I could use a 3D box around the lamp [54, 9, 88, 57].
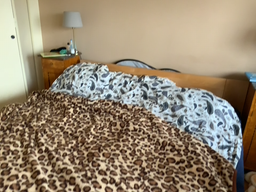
[{"bbox_3d":[-0.680,-0.770,2.580,0.270,0.510,0.260,14,25,26],"label":"lamp"}]
